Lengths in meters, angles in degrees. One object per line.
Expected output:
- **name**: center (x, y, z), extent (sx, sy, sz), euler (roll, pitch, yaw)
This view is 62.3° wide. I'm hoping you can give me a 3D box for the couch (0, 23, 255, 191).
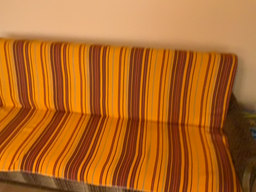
- **couch**: center (-0.290, 0.130, 1.620), extent (2.200, 0.940, 1.000), euler (7, 35, 8)
